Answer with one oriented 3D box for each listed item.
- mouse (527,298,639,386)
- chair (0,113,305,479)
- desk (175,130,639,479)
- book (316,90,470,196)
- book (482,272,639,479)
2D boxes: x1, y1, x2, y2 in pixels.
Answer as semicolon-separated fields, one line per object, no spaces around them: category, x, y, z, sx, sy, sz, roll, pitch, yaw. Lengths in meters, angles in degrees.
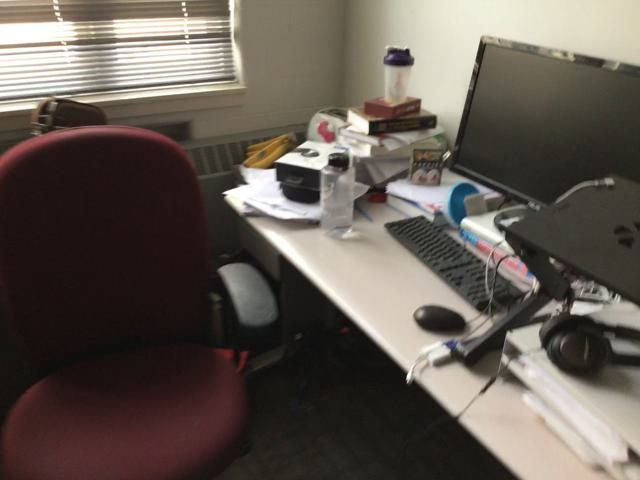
mouse;0.420;0.160;0.930;0.110;0.070;0.110;-12;26;-29
chair;-0.440;0.310;1.320;0.620;1.050;0.620;-8;25;-21
desk;0.310;0.370;1.650;0.790;0.850;1.900;-12;29;-29
book;0.230;-0.330;1.880;0.390;0.250;0.280;-12;26;-29
book;0.540;0.230;0.970;0.370;0.160;0.340;-12;26;-29
